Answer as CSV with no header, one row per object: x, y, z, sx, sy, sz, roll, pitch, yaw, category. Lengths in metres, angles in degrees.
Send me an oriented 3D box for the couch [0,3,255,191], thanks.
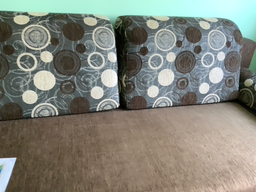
-0.020,0.090,1.040,2.000,0.850,0.950,-3,29,-15,couch
